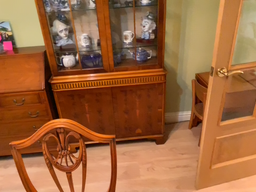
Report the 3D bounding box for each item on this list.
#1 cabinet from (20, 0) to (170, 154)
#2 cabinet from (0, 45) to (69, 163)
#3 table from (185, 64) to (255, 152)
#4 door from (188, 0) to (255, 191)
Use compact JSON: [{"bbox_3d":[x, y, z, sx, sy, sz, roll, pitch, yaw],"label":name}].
[{"bbox_3d":[-0.210,-0.440,1.790,1.010,1.980,0.400,-5,29,-3],"label":"cabinet"},{"bbox_3d":[-1.100,0.090,1.970,0.840,0.960,0.460,-5,29,-3],"label":"cabinet"},{"bbox_3d":[0.900,0.100,2.050,0.490,0.640,0.490,-5,29,-4],"label":"table"},{"bbox_3d":[0.780,-0.190,1.260,0.710,1.980,0.060,-10,29,-13],"label":"door"}]
